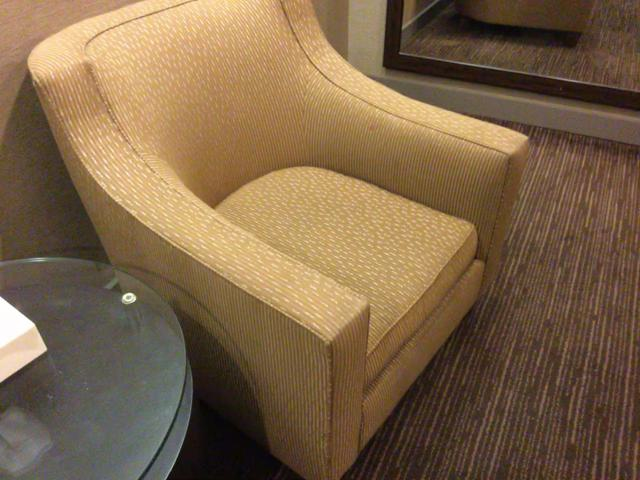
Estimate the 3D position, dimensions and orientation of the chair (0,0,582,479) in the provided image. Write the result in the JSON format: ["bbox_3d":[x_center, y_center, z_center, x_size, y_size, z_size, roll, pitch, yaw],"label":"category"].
[{"bbox_3d":[-0.080,-0.080,1.460,0.970,0.890,0.920,22,44,31],"label":"chair"}]
